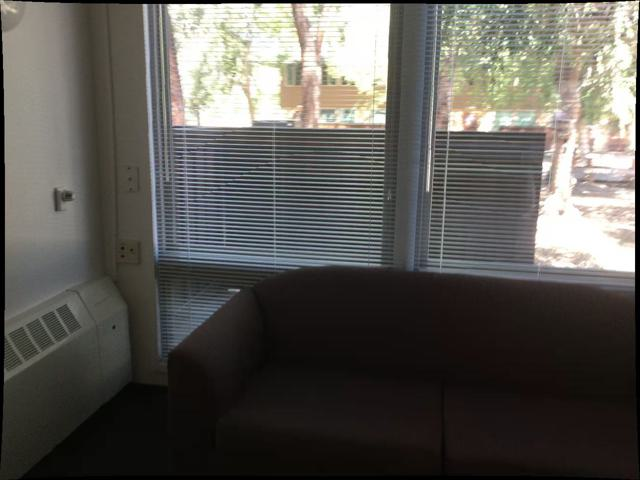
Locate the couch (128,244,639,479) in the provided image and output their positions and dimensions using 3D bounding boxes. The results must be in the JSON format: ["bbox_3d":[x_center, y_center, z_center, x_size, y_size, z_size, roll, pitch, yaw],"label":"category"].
[{"bbox_3d":[0.399,0.571,2.210,1.837,0.761,1.040,4,14,16],"label":"couch"}]

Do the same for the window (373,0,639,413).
[{"bbox_3d":[0.918,-0.180,2.510,1.278,1.683,0.410,4,14,16],"label":"window"}]

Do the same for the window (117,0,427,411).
[{"bbox_3d":[-0.210,-0.280,2.630,1.278,1.953,0.330,4,14,16],"label":"window"}]
